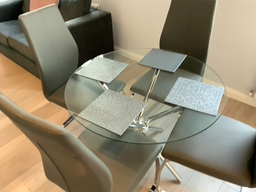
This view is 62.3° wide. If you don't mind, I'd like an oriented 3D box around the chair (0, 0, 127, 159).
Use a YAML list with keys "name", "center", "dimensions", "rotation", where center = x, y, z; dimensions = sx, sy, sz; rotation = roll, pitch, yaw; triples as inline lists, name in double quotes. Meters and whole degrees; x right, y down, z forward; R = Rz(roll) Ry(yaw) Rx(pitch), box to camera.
- name: "chair"
  center: [-0.400, -0.120, 1.630]
  dimensions: [0.590, 1.010, 0.520]
  rotation: [15, 41, 20]

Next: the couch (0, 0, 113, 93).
- name: "couch"
  center: [-1.200, -0.940, 2.810]
  dimensions: [1.720, 0.830, 1.000]
  rotation: [27, 47, 32]

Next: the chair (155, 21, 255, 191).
- name: "chair"
  center: [0.530, 0.210, 1.170]
  dimensions: [0.560, 1.020, 0.460]
  rotation: [20, 43, 25]

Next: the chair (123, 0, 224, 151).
- name: "chair"
  center: [0.330, -0.190, 1.680]
  dimensions: [0.450, 1.020, 0.600]
  rotation: [20, 43, 25]
